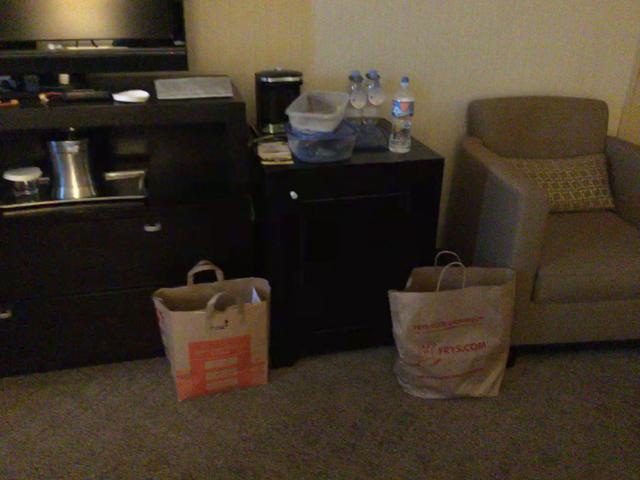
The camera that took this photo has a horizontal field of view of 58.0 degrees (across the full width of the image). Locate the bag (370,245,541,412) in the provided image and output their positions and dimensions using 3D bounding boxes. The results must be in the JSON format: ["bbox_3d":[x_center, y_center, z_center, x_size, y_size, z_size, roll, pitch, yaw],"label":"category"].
[{"bbox_3d":[0.440,0.290,1.980,0.440,0.420,0.300,-5,25,-13],"label":"bag"}]

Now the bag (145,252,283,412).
[{"bbox_3d":[-0.350,0.300,1.950,0.410,0.420,0.250,-5,25,-13],"label":"bag"}]

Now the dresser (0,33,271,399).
[{"bbox_3d":[-0.810,-0.110,2.000,1.180,1.090,0.560,-5,25,-13],"label":"dresser"}]
